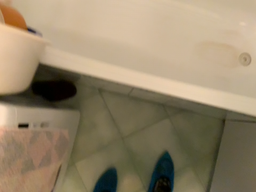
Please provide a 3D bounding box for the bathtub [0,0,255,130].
[{"bbox_3d":[0.130,-0.330,1.060,1.650,0.570,0.690,14,85,-2],"label":"bathtub"}]
